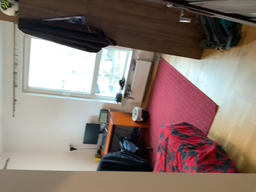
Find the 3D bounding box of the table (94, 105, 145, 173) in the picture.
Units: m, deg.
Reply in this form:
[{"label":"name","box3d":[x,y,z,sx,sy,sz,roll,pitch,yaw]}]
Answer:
[{"label":"table","box3d":[-0.230,0.930,4.580,0.690,0.780,1.220,-118,38,-62]}]

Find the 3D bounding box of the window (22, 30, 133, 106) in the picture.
[{"label":"window","box3d":[-0.980,-0.490,4.210,0.220,1.960,1.210,-120,40,-65]}]

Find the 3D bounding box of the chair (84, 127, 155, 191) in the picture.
[{"label":"chair","box3d":[-0.220,1.170,3.940,0.900,1.070,0.740,-115,35,-64]}]
